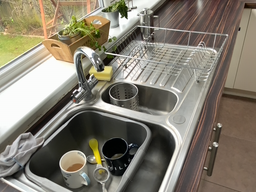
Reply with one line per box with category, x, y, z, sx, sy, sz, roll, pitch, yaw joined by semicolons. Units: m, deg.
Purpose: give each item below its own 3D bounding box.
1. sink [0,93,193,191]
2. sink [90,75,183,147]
sink;-0.090;0.220;0.700;0.500;0.170;0.380;13;43;24
sink;0.040;0.050;0.880;0.320;0.150;0.180;13;43;24
